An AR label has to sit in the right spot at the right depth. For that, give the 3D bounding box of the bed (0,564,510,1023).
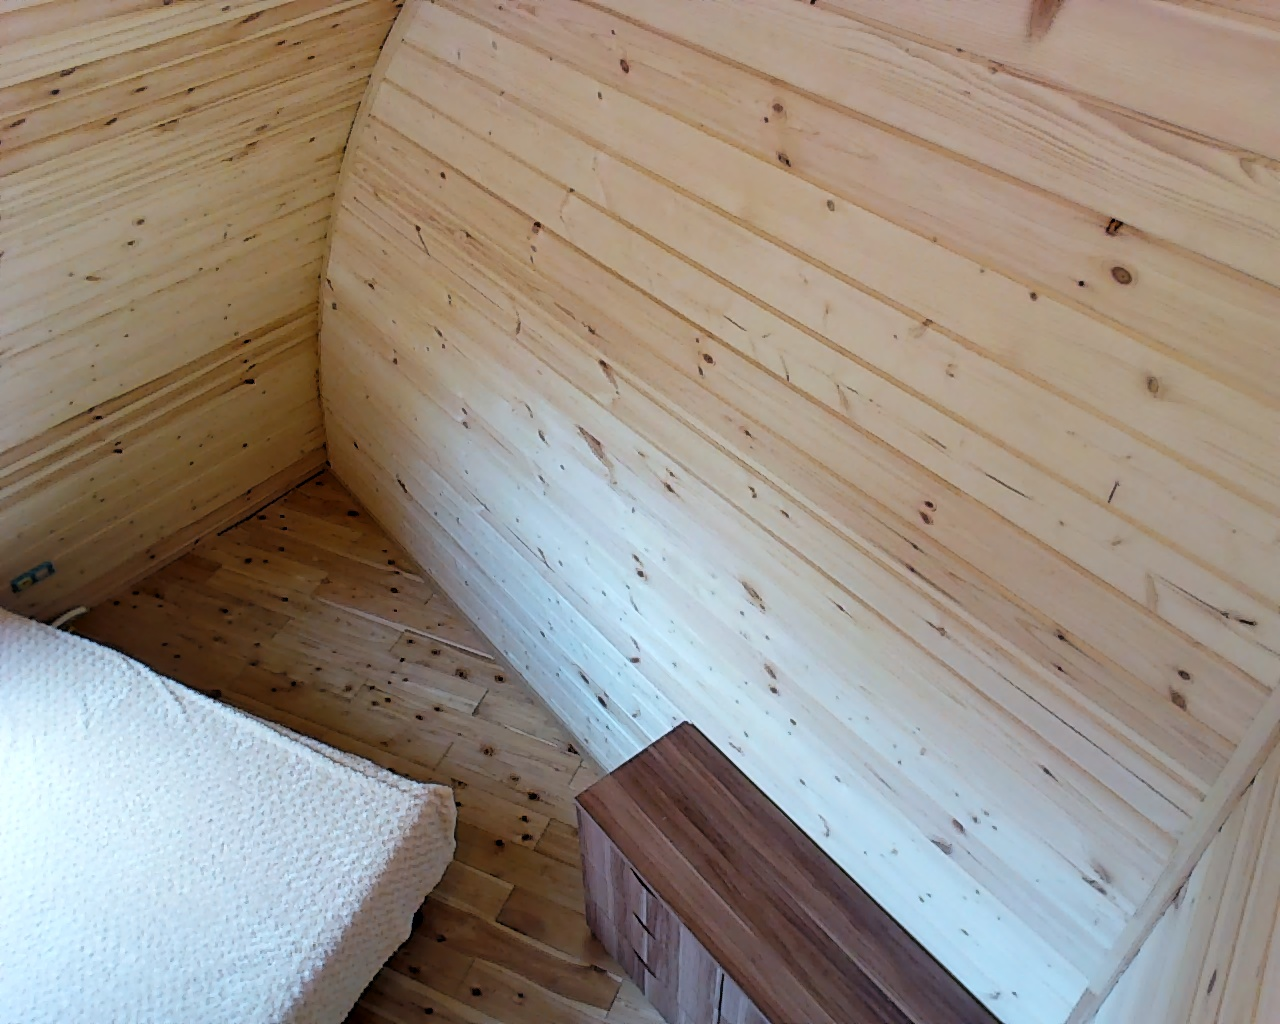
[{"bbox_3d":[-1.970,1.350,3.020,2.320,0.610,2.290,16,46,18],"label":"bed"}]
